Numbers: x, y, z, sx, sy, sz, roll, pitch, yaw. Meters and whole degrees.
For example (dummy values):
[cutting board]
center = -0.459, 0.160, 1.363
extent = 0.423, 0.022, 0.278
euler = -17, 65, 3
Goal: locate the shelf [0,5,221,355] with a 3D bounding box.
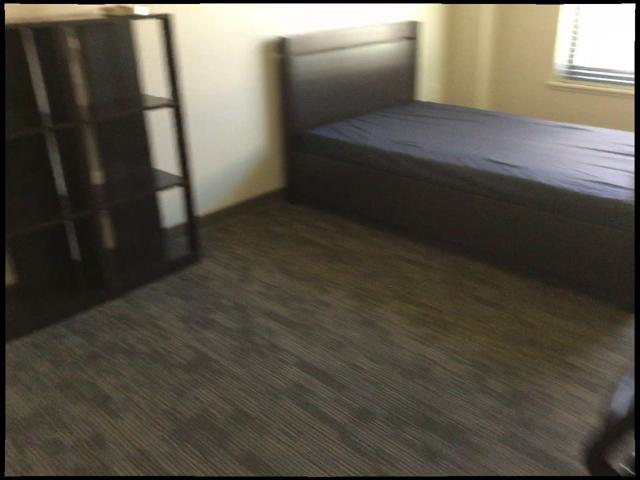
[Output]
[shelf]
center = -1.098, -0.341, 2.570
extent = 0.460, 1.232, 1.159
euler = 21, 33, 38
